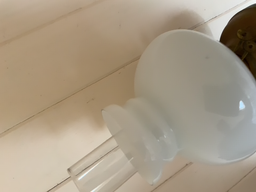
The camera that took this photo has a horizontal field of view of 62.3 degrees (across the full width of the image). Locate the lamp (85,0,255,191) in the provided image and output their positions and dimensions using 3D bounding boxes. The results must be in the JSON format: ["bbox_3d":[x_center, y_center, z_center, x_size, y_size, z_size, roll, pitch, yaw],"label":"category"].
[{"bbox_3d":[0.110,0.000,0.330,0.250,0.220,0.220,63,163,-13],"label":"lamp"}]
